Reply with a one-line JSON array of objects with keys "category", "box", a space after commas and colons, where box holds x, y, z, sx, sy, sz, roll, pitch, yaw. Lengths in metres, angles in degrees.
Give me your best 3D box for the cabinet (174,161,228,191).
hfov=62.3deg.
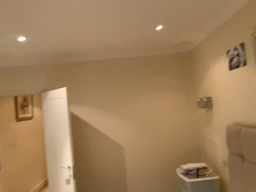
[{"category": "cabinet", "box": [0.890, 1.290, 2.580, 0.470, 0.830, 0.500, -5, -3, -1]}]
